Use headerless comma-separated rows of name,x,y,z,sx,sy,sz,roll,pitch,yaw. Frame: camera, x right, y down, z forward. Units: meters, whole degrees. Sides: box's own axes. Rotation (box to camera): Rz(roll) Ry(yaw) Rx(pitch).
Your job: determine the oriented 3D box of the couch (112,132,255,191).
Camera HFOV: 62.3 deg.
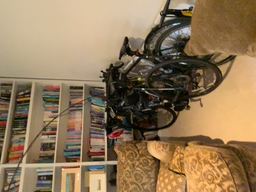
couch,0.380,0.870,2.000,1.710,0.810,0.960,151,120,-75
